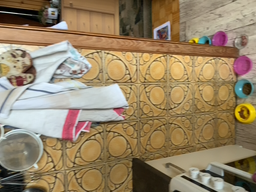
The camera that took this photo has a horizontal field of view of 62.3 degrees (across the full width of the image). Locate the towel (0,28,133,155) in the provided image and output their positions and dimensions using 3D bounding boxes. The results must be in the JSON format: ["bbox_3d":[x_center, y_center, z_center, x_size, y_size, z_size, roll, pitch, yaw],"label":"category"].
[{"bbox_3d":[-0.360,-0.020,0.820,0.230,0.730,0.400,4,95,62],"label":"towel"}]
